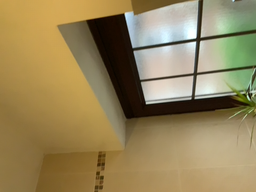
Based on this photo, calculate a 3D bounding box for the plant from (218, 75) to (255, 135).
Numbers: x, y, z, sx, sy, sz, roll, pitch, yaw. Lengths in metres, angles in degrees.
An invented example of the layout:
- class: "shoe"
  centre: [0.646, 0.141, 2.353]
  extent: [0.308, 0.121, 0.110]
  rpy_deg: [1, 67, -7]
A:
- class: "plant"
  centre: [0.750, 0.030, 1.020]
  extent: [0.240, 0.530, 0.170]
  rpy_deg: [73, -166, -49]
